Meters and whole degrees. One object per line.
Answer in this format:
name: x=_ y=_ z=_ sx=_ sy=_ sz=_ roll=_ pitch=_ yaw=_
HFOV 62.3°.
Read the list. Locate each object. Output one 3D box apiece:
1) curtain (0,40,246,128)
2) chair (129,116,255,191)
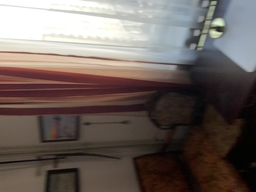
curtain: x=-0.180 y=-0.080 z=1.720 sx=0.290 sy=2.280 sz=0.550 roll=-113 pitch=28 yaw=-53
chair: x=0.700 y=0.880 z=1.910 sx=1.420 sy=1.000 sz=0.590 roll=-112 pitch=27 yaw=-53
